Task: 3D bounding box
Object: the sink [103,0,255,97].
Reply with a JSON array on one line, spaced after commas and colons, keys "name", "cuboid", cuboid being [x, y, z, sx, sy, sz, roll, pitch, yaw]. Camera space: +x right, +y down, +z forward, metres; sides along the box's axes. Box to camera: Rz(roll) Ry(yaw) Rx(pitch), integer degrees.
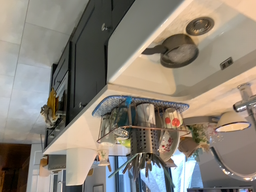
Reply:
[{"name": "sink", "cuboid": [0.220, -0.220, 0.780, 0.430, 0.200, 0.550, 9, 153, -29]}]
